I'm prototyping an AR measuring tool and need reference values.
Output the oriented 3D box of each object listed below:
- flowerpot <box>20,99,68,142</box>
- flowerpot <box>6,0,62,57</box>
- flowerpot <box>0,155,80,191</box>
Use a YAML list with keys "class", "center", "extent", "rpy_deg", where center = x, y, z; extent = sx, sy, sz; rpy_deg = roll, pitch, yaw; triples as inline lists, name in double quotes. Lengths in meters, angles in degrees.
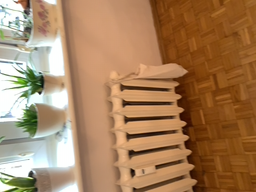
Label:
- class: "flowerpot"
  center: [-0.410, 0.120, 1.020]
  extent: [0.190, 0.150, 0.170]
  rpy_deg: [-20, 75, 48]
- class: "flowerpot"
  center: [-0.500, -0.410, 1.120]
  extent: [0.170, 0.210, 0.340]
  rpy_deg: [-22, 74, 47]
- class: "flowerpot"
  center: [-0.410, 0.390, 0.920]
  extent: [0.230, 0.310, 0.200]
  rpy_deg: [-21, 74, 47]
